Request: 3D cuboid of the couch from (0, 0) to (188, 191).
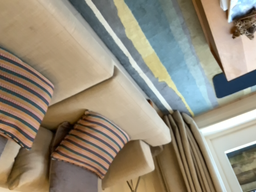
[{"bbox_3d":[-0.490,0.070,1.300,0.980,0.780,1.840,-26,139,18],"label":"couch"}]
